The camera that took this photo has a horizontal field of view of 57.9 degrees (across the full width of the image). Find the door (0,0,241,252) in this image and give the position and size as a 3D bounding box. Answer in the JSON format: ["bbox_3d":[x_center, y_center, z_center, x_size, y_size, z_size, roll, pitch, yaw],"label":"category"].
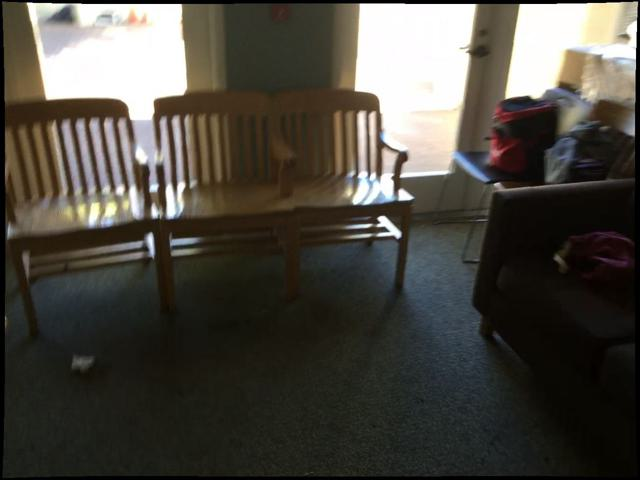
[{"bbox_3d":[-1.389,-0.881,2.620,1.908,1.962,0.230,-6,29,-12],"label":"door"}]

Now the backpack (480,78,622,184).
[{"bbox_3d":[1.129,-0.561,2.900,0.420,0.370,0.470,-6,29,-12],"label":"backpack"}]

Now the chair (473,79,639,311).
[{"bbox_3d":[1.149,-0.220,2.610,0.619,0.851,0.520,-6,29,-12],"label":"chair"}]

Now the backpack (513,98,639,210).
[{"bbox_3d":[1.179,-0.400,2.610,0.380,0.350,0.410,-6,29,-12],"label":"backpack"}]

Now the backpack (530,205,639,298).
[{"bbox_3d":[1.009,0.030,2.070,0.340,0.150,0.340,-6,29,-12],"label":"backpack"}]

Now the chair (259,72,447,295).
[{"bbox_3d":[0.110,-0.310,2.800,0.669,0.801,0.730,-6,29,-12],"label":"chair"}]

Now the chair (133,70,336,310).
[{"bbox_3d":[-0.390,-0.270,2.670,0.759,0.821,0.720,-6,29,-12],"label":"chair"}]
